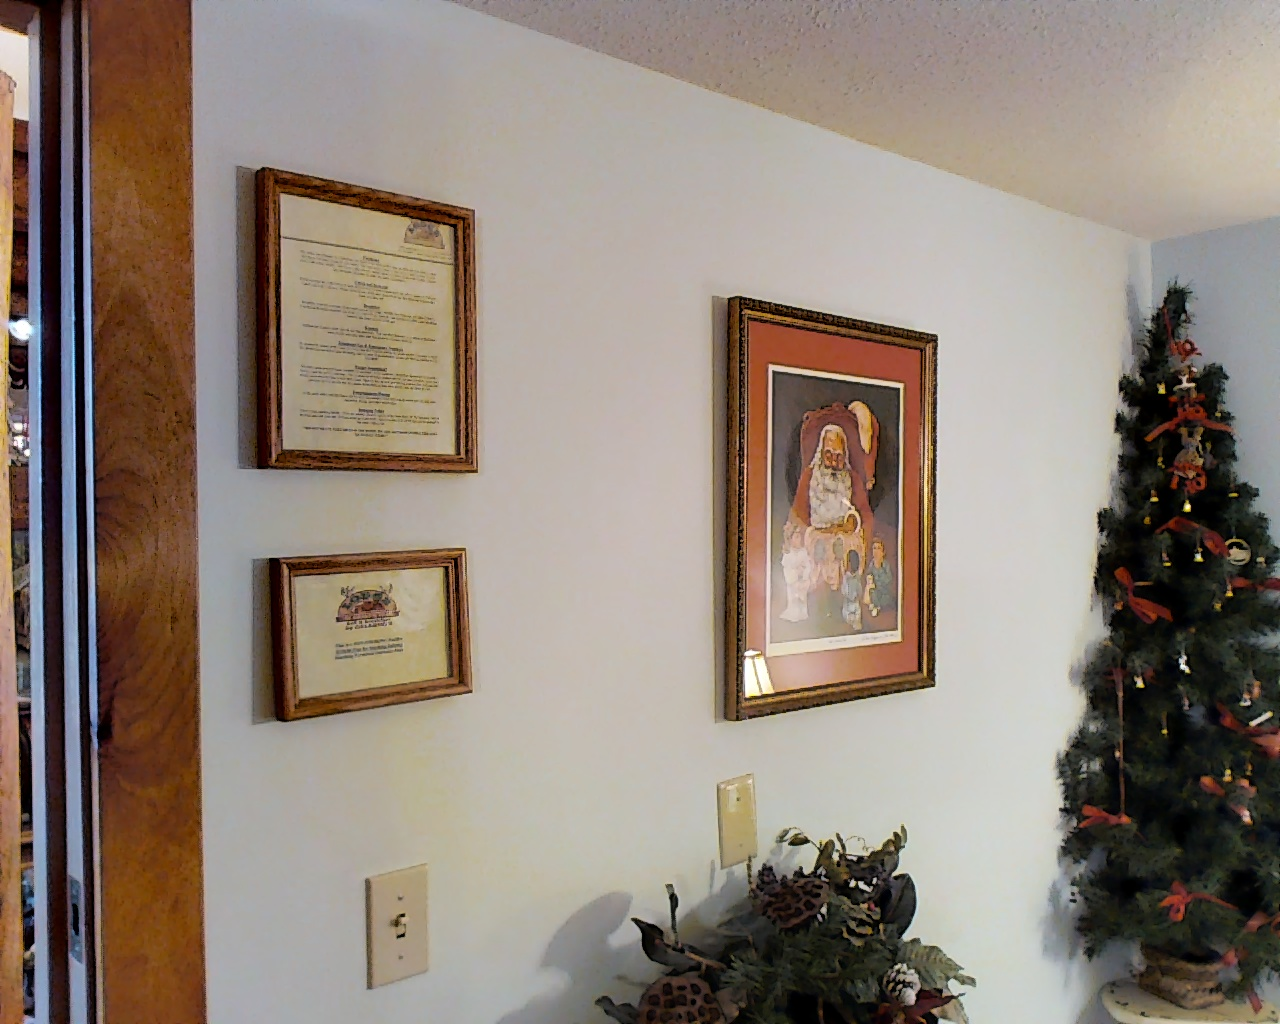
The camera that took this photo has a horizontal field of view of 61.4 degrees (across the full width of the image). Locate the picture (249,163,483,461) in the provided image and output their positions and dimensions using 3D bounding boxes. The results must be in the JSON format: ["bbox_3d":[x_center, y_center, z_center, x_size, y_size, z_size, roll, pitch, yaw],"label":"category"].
[{"bbox_3d":[-0.270,-0.190,1.090,0.240,0.270,0.030,-1,0,-42],"label":"picture"}]

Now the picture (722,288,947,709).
[{"bbox_3d":[0.300,-0.020,1.580,0.470,0.550,0.040,-1,0,-42],"label":"picture"}]

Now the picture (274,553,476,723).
[{"bbox_3d":[-0.260,0.120,1.080,0.210,0.150,0.020,-1,0,-42],"label":"picture"}]
